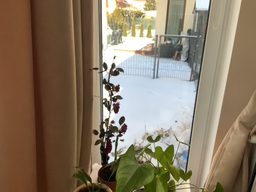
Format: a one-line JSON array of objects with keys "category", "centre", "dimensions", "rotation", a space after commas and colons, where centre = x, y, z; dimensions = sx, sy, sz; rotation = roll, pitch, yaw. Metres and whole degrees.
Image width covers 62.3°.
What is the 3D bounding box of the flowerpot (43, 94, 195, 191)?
[{"category": "flowerpot", "centre": [-0.020, 0.300, 1.040], "dimensions": [0.540, 0.450, 0.480], "rotation": [5, 20, 6]}]
